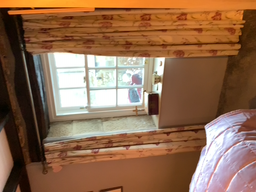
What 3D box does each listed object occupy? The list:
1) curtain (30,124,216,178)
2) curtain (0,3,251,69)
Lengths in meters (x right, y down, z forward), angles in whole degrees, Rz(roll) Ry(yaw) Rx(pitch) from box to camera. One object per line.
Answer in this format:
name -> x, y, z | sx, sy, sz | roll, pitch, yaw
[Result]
curtain -> 0.010, 0.550, 2.230 | 0.180, 1.870, 0.310 | -118, 27, -64
curtain -> 0.070, -0.500, 1.770 | 0.160, 1.940, 0.450 | -115, 24, -61
